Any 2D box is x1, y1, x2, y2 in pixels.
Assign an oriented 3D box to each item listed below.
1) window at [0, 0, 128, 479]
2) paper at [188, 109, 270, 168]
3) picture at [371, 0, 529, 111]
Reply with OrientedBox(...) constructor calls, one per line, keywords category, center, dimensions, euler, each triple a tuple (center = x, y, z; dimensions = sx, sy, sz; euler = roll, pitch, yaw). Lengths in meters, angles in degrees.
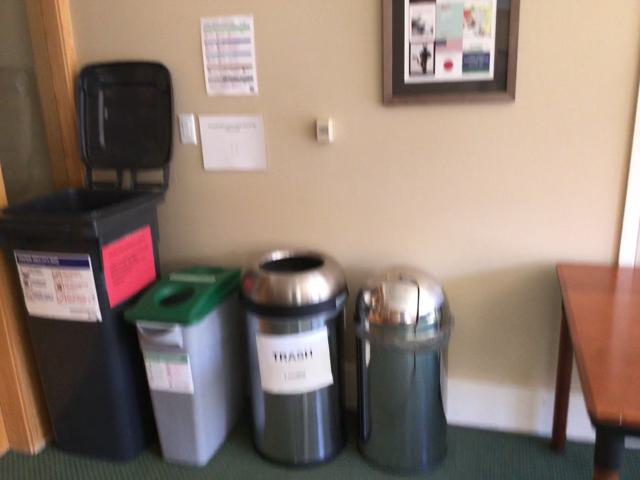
OrientedBox(category="window", center=(-1.170, -0.300, 2.110), dimensions=(0.430, 2.270, 0.630), euler=(0, 10, 14))
OrientedBox(category="paper", center=(-0.350, -0.390, 2.230), dimensions=(0.300, 0.210, 0.070), euler=(1, 10, 14))
OrientedBox(category="picture", center=(0.410, -0.790, 1.850), dimensions=(0.480, 0.710, 0.130), euler=(1, 10, 14))
